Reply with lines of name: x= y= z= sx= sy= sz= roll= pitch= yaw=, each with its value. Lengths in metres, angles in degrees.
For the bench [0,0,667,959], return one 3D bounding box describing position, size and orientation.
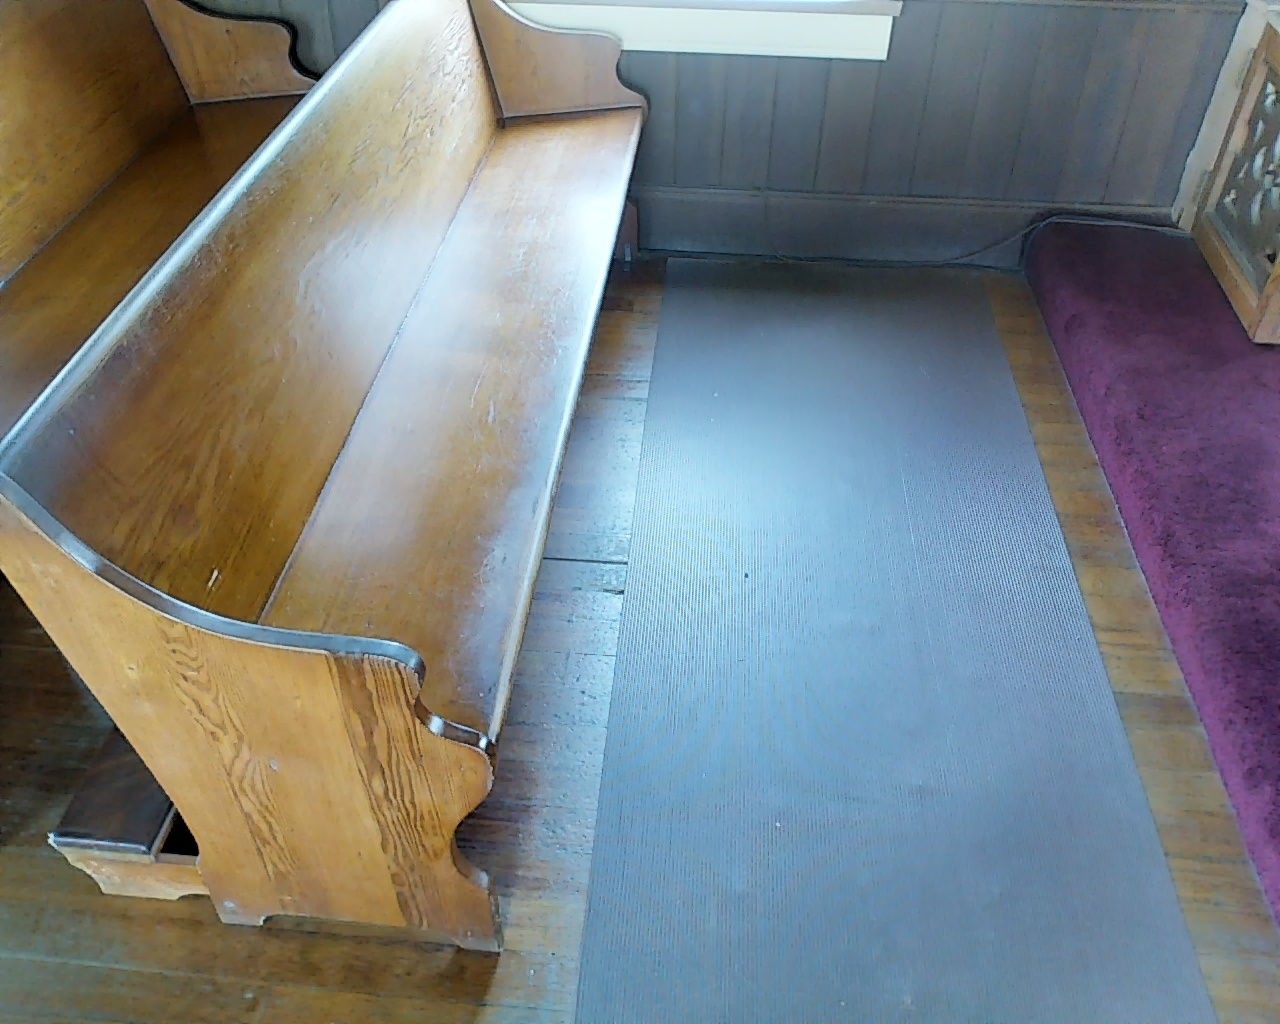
bench: x=-0.340 y=-0.410 z=2.160 sx=0.620 sy=0.860 sz=2.220 roll=3 pitch=41 yaw=4
